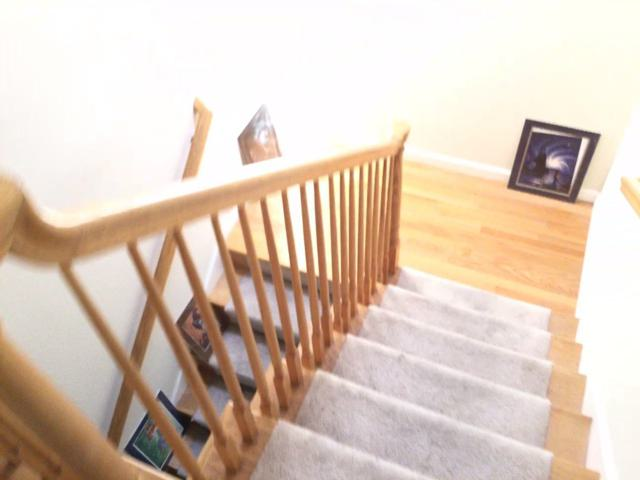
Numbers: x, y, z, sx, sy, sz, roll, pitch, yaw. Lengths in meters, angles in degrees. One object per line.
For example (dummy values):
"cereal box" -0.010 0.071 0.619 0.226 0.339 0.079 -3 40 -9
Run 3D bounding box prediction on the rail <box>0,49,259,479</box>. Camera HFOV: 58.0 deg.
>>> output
"rail" -0.750 0.130 1.130 1.090 0.960 0.400 15 48 17

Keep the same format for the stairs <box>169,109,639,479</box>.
"stairs" 0.450 0.480 2.150 1.070 1.010 1.640 15 48 17
